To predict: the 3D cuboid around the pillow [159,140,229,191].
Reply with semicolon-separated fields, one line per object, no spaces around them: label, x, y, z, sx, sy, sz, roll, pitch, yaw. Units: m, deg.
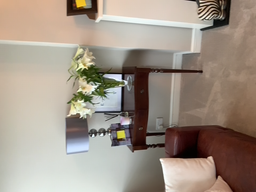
pillow;0.480;0.600;1.570;0.310;0.350;0.370;-154;52;-69
